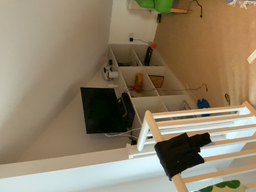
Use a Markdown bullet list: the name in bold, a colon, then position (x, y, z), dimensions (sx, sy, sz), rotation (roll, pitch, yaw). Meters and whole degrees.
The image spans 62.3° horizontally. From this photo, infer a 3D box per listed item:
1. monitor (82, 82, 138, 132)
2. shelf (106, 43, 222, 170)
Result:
- **monitor**: position (-0.240, 0.090, 2.490), dimensions (0.760, 0.550, 0.040), rotation (-106, 20, -46)
- **shelf**: position (0.300, -0.080, 3.000), dimensions (2.130, 0.790, 0.390), rotation (-113, 25, -46)
